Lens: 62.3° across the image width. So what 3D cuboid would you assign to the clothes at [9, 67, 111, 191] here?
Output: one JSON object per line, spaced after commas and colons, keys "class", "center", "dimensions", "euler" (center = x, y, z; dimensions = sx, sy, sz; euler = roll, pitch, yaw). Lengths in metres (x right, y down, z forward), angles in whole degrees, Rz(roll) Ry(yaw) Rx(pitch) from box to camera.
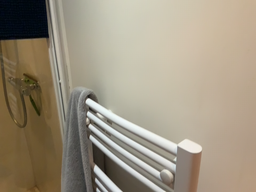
{"class": "clothes", "center": [-0.230, 0.390, 0.850], "dimensions": [0.220, 0.950, 0.250], "euler": [-17, 27, -36]}
